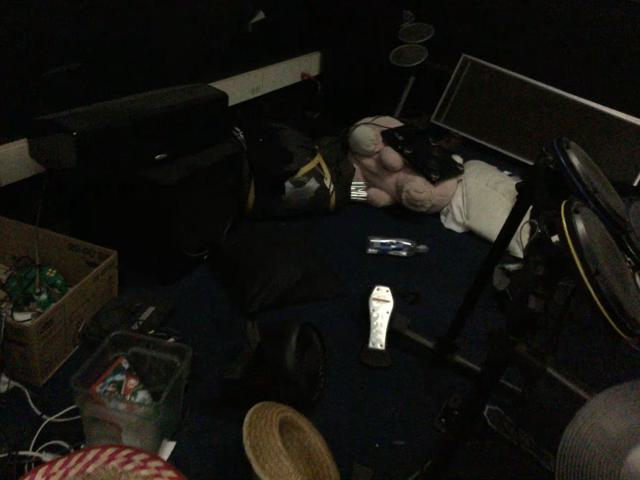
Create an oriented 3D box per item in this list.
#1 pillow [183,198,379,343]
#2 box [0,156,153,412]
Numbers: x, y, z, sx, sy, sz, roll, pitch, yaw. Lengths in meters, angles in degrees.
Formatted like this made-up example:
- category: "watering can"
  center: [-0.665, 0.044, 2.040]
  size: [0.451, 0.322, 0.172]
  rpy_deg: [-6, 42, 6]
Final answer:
- category: "pillow"
  center: [-0.130, 0.080, 2.090]
  size: [0.500, 0.150, 0.500]
  rpy_deg: [23, 33, 23]
- category: "box"
  center: [-0.940, 0.100, 1.650]
  size: [0.610, 0.350, 0.640]
  rpy_deg: [23, 33, 23]
